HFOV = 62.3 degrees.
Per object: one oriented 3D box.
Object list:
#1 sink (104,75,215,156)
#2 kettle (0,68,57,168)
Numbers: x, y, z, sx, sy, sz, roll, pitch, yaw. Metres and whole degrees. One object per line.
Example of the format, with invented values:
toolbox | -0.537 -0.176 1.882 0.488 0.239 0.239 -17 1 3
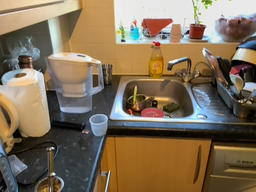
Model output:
sink | 0.140 0.070 1.130 0.450 0.190 0.490 1 27 3
kettle | -0.390 0.060 0.720 0.170 0.230 0.260 1 27 3
